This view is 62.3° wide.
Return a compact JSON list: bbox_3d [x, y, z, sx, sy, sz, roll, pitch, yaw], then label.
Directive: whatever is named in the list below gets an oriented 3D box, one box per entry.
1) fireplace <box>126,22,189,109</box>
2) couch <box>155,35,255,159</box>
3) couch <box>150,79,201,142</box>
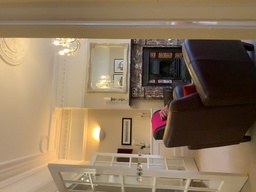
[{"bbox_3d":[0.640,-0.660,4.810,0.700,1.270,1.820,75,-163,-80],"label":"fireplace"},{"bbox_3d":[0.720,0.000,2.100,0.810,0.800,0.900,88,-176,-47],"label":"couch"},{"bbox_3d":[0.840,0.230,4.060,0.960,0.750,0.890,-80,-9,-71],"label":"couch"}]
